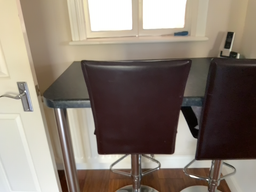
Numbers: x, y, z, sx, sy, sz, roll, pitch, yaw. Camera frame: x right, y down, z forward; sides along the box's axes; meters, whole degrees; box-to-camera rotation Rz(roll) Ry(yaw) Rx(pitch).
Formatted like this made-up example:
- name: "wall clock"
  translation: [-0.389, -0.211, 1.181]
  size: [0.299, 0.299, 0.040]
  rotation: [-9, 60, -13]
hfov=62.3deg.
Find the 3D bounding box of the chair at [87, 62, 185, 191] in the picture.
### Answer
- name: "chair"
  translation: [0.050, 0.320, 1.200]
  size: [0.370, 0.920, 0.450]
  rotation: [-1, 25, 2]
